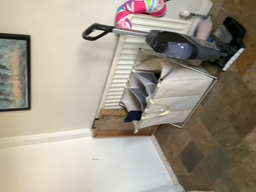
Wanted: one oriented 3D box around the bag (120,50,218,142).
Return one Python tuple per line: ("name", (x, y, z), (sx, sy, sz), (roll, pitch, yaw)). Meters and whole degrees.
("bag", (0.320, 0.020, 1.930), (0.360, 0.520, 0.740), (62, 143, 39))
